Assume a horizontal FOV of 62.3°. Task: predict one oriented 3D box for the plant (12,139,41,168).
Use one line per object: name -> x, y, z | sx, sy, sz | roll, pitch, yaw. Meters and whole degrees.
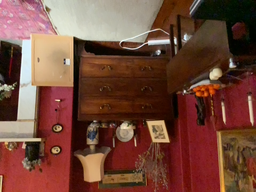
plant -> -1.030, 0.580, 2.170 | 0.210, 0.270, 0.160 | 0, 170, -7
